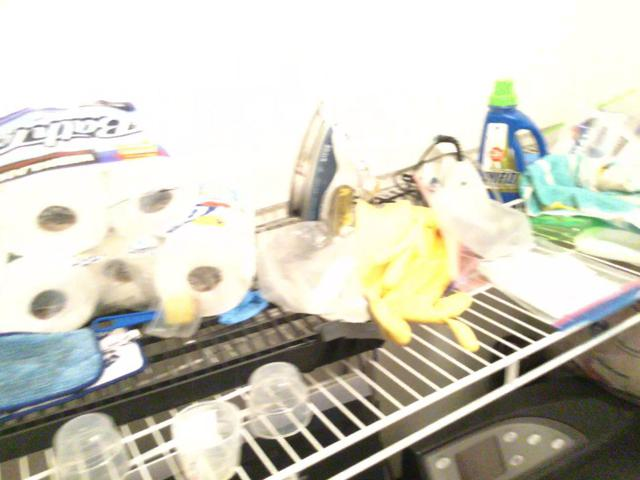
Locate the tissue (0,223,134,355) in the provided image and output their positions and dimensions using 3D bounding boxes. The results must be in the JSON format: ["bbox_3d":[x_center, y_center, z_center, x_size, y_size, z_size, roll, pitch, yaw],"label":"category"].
[{"bbox_3d":[-0.350,0.060,0.740,0.180,0.100,0.090,-17,26,-26],"label":"tissue"}]

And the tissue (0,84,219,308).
[{"bbox_3d":[-0.380,-0.070,0.780,0.390,0.200,0.250,-17,26,-26],"label":"tissue"}]
